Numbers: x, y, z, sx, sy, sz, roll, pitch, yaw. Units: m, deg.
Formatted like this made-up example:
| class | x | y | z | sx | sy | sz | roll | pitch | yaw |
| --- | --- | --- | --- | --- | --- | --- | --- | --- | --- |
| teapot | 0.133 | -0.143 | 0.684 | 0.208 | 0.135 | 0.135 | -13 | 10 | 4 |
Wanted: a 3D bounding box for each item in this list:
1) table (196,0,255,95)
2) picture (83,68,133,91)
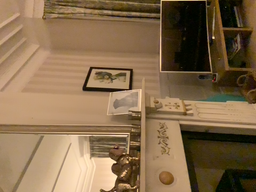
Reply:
| class | x | y | z | sx | sy | sz | roll | pitch | yaw |
| --- | --- | --- | --- | --- | --- | --- | --- | --- | --- |
| table | 1.250 | -0.710 | 2.840 | 0.640 | 0.400 | 1.220 | 89 | -176 | -66 |
| picture | -0.270 | -0.250 | 3.060 | 0.480 | 0.660 | 0.060 | -85 | -3 | -55 |
